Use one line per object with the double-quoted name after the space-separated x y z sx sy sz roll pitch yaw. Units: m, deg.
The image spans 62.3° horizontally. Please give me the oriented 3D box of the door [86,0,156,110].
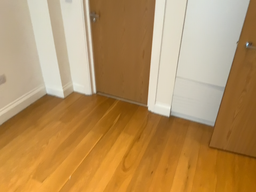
-0.090 -0.790 2.110 0.730 2.010 0.050 15 35 21 "door"
